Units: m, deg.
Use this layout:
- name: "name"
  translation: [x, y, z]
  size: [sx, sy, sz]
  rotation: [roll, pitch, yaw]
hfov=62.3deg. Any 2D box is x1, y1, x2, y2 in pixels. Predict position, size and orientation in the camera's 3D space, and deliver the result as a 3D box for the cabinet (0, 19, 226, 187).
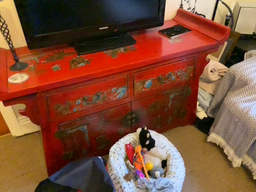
- name: "cabinet"
  translation: [-0.070, -0.030, 1.380]
  size: [1.180, 0.640, 0.480]
  rotation: [-16, 40, -20]
